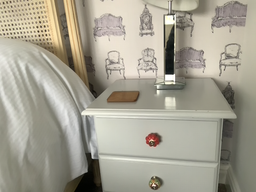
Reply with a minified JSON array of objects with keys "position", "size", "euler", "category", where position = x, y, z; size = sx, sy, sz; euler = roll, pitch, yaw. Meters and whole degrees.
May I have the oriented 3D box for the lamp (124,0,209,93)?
[{"position":[0.140,-0.280,0.770],"size":[0.250,0.480,0.250],"euler":[0,20,12],"category":"lamp"}]
